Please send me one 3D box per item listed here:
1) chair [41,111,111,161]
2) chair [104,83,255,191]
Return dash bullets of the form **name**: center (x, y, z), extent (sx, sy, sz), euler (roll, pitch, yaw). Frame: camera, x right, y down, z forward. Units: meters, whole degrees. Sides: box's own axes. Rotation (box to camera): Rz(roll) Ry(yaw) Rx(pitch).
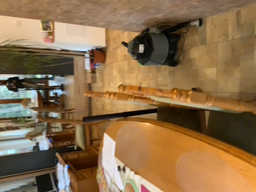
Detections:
- **chair**: center (-0.870, 0.620, 3.570), extent (0.540, 1.010, 0.600), euler (5, 96, 60)
- **chair**: center (0.480, 0.230, 1.070), extent (0.440, 1.100, 0.590), euler (5, 96, 60)
